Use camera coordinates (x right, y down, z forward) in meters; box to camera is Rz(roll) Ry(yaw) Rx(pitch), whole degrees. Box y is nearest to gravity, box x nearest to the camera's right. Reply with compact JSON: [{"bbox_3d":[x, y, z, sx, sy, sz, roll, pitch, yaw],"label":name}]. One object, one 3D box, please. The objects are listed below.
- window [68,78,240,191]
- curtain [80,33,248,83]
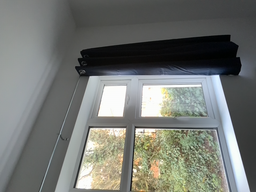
[{"bbox_3d":[0.190,0.400,1.720,0.050,1.170,1.510,81,-168,-47],"label":"window"},{"bbox_3d":[0.290,-0.350,1.980,0.220,1.380,0.400,81,-168,-46],"label":"curtain"}]
